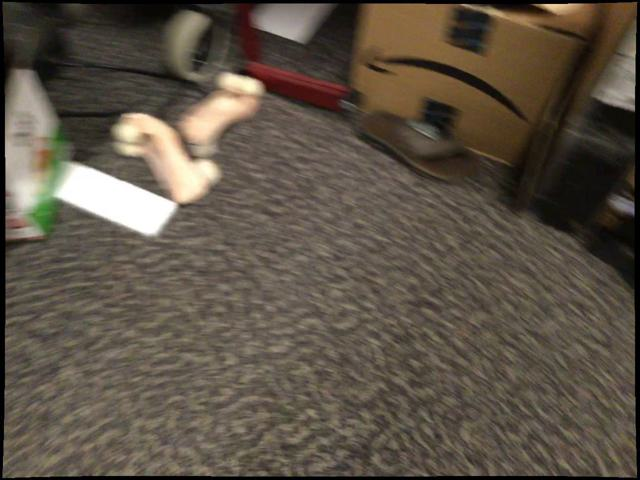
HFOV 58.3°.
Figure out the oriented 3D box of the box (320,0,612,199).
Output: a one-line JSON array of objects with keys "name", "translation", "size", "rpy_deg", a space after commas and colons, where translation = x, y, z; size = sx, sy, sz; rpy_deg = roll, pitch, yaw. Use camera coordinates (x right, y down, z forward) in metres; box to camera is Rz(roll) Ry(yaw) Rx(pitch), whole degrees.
[{"name": "box", "translation": [0.330, -0.491, 1.170], "size": [0.420, 0.350, 0.630], "rpy_deg": [22, 59, 11]}]
